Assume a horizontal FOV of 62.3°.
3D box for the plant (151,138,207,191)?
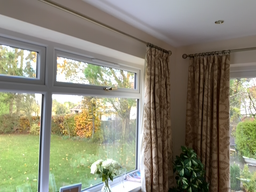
[{"bbox_3d":[0.590,1.110,2.460,0.470,1.140,0.440,1,-2,40],"label":"plant"}]
